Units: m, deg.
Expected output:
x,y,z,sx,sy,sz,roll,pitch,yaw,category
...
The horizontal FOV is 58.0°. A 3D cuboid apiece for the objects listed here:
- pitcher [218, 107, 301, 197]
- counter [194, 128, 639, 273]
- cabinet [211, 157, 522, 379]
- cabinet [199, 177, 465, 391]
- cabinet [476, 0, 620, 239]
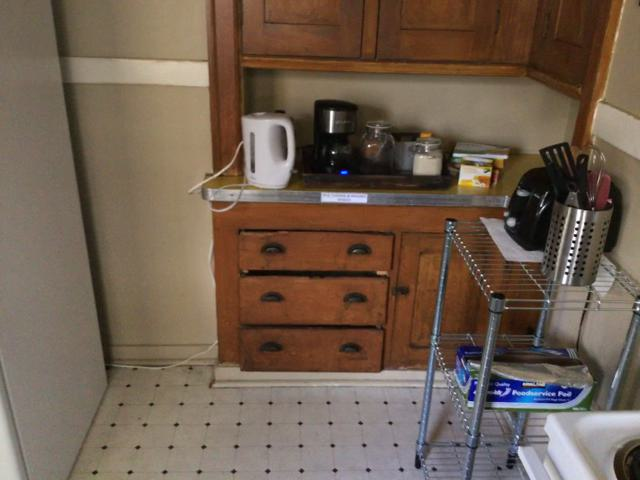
x,y,z,sx,sy,sz,roll,pitch,yaw,category
-0.210,-0.310,2.030,0.270,0.270,0.160,2,24,-3,pitcher
0.330,-0.180,2.150,1.450,0.220,0.770,2,24,-3,counter
0.140,0.110,2.370,1.090,0.740,0.460,2,24,-3,cabinet
0.020,0.190,2.250,0.920,0.800,0.210,2,24,-3,cabinet
0.740,-0.940,1.580,0.080,1.850,0.490,4,26,-5,cabinet
